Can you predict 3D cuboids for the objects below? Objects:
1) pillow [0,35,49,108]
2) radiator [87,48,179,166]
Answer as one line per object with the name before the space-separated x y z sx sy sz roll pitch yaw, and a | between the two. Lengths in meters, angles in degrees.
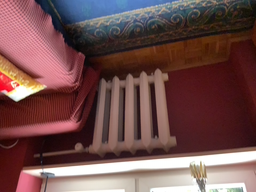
pillow | -0.700 -0.170 1.060 0.250 0.130 0.640 -9 146 13
radiator | 0.040 0.070 1.510 0.510 0.730 0.280 -9 146 14
